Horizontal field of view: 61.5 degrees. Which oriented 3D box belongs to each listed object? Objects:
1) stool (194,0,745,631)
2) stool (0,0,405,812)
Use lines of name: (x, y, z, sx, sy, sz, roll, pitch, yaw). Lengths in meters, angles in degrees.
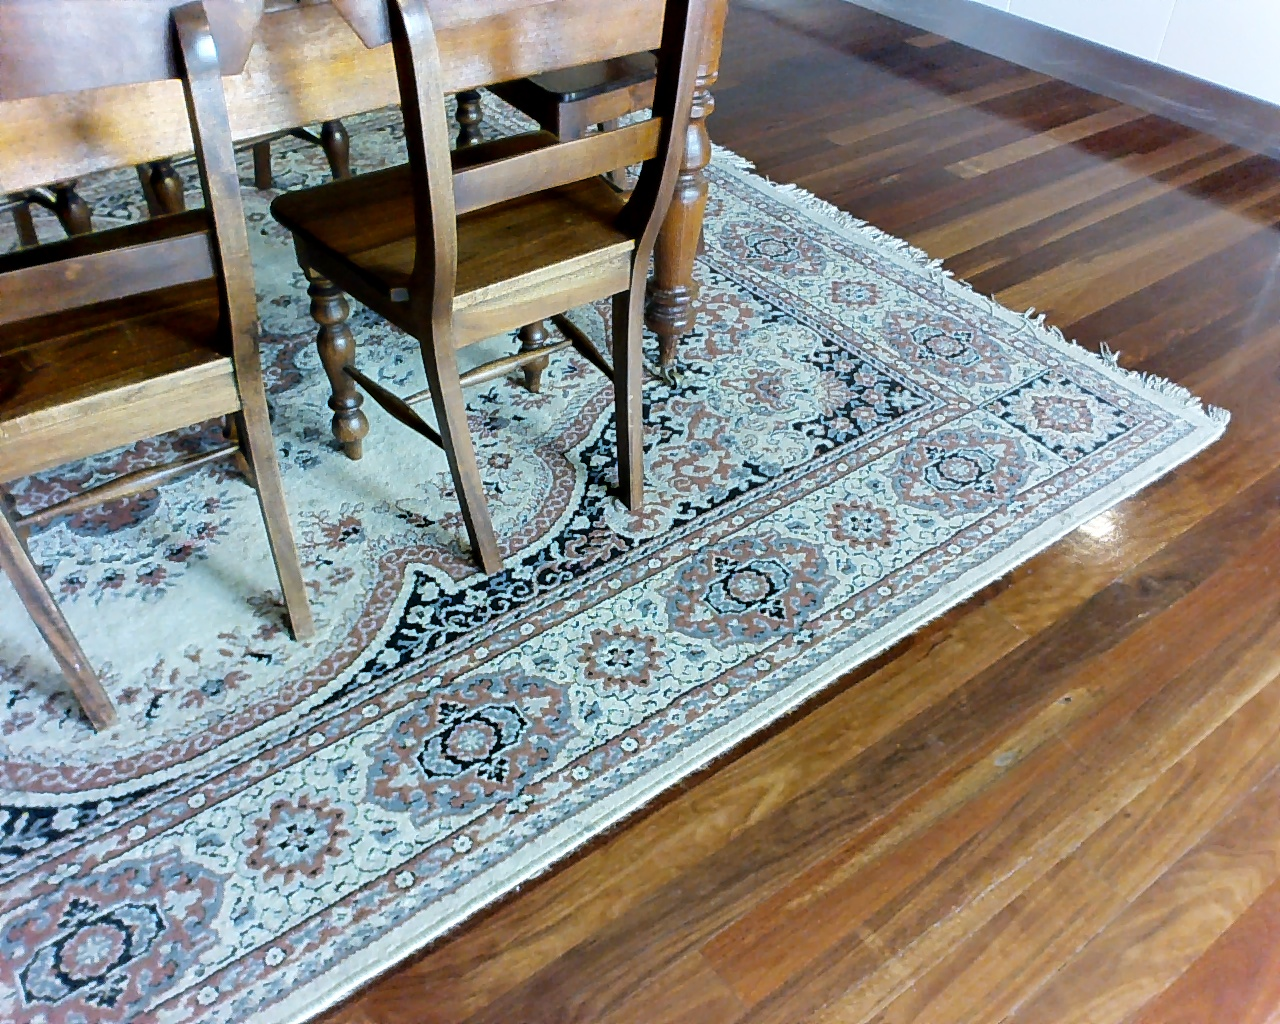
stool: (-0.220, -0.370, 1.490, 0.490, 0.850, 0.470, -24, 47, -26)
stool: (-0.670, -0.190, 1.280, 0.480, 0.840, 0.530, -24, 47, -26)
